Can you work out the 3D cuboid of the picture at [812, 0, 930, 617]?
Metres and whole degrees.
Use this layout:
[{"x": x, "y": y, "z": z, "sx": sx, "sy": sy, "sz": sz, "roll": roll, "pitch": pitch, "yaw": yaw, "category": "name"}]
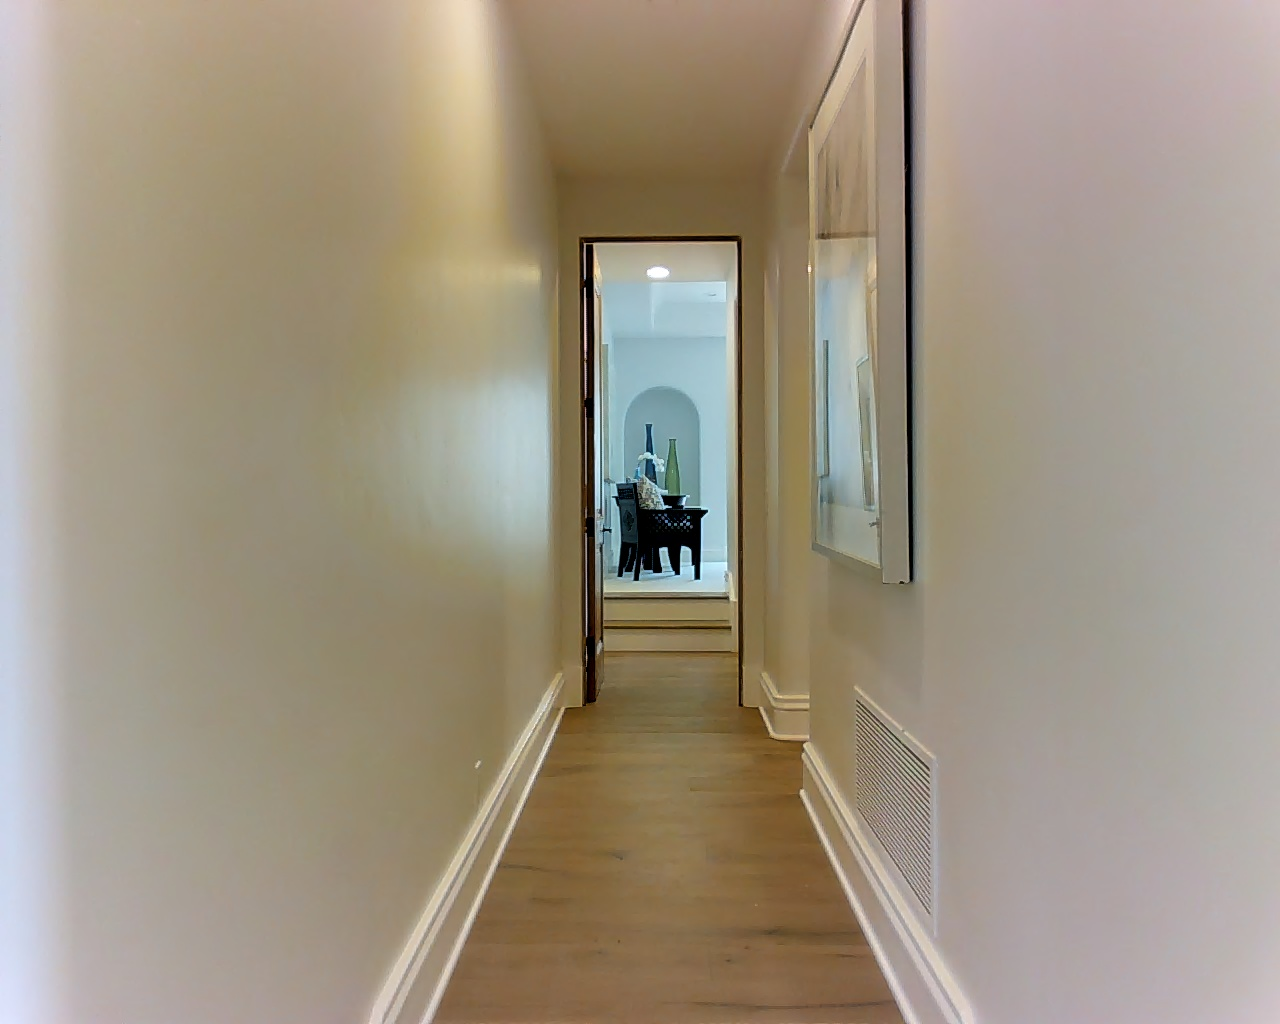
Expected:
[{"x": 0.570, "y": -0.520, "z": 2.790, "sx": 0.080, "sy": 1.470, "sz": 1.120, "roll": 0, "pitch": 0, "yaw": 1, "category": "picture"}]
